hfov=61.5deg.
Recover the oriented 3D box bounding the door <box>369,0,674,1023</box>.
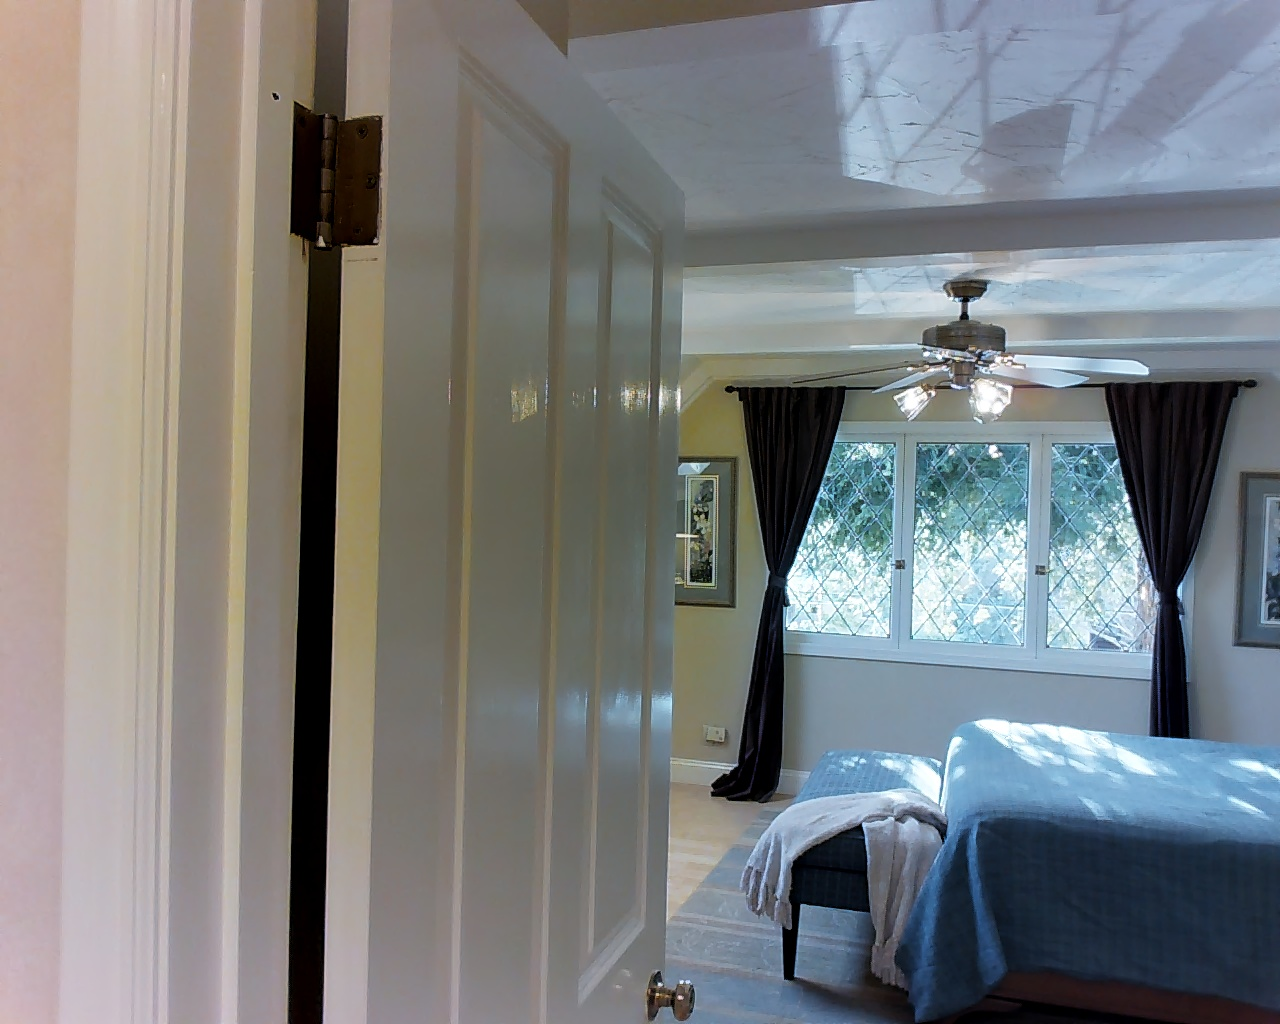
[{"bbox_3d":[-0.090,0.560,1.120,0.030,2.050,0.680,1,0,17],"label":"door"}]
